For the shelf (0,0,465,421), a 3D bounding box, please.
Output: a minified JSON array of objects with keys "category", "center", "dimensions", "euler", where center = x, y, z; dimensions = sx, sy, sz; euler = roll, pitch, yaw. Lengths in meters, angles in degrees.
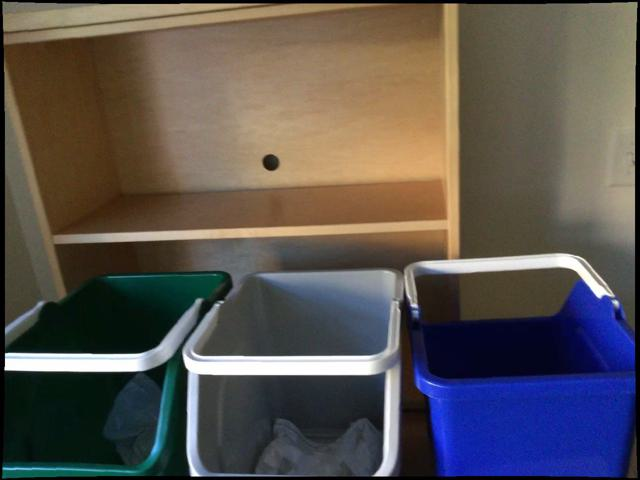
[{"category":"shelf","center":[-0.150,-0.070,1.180],"dimensions":[0.828,0.772,0.360],"euler":[-2,20,10]}]
